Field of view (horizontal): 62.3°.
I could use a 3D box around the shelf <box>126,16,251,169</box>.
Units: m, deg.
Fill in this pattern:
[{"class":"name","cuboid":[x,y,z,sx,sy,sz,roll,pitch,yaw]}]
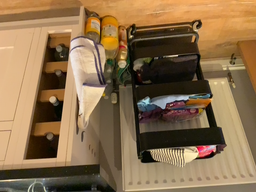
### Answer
[{"class":"shelf","cuboid":[0.270,-0.040,1.310,0.520,0.850,0.360,-3,152,-1]}]
